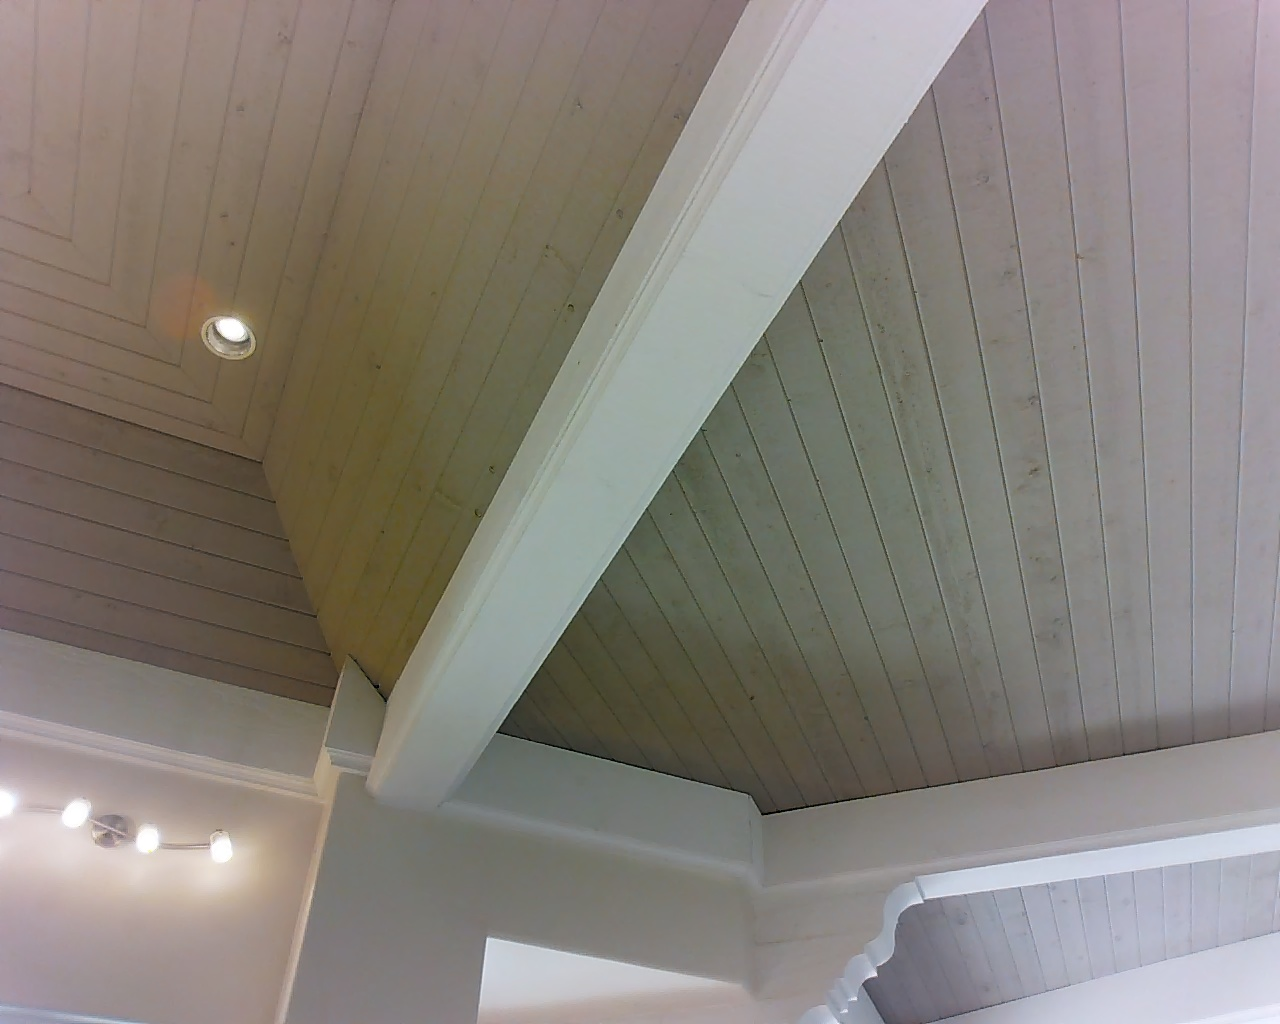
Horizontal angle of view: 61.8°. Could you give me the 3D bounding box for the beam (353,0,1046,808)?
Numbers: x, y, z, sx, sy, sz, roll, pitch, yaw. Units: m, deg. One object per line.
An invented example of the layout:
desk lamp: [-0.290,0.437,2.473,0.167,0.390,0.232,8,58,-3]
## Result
beam: [0.110,-0.520,2.510,0.450,0.410,4.640,18,-45,-17]

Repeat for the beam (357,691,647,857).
beam: [-0.500,1.020,4.140,1.100,0.390,0.110,18,-45,-17]
